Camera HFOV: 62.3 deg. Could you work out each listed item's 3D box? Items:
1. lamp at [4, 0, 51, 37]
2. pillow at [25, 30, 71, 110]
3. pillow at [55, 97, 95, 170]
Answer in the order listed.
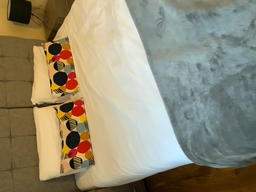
[{"bbox_3d":[-1.110,-0.900,2.340,0.320,0.390,0.280,-40,60,45],"label":"lamp"},{"bbox_3d":[-0.770,-0.240,2.040,0.180,0.340,0.680,-22,68,21],"label":"pillow"},{"bbox_3d":[-0.430,0.310,1.730,0.130,0.260,0.540,-19,67,10],"label":"pillow"}]
